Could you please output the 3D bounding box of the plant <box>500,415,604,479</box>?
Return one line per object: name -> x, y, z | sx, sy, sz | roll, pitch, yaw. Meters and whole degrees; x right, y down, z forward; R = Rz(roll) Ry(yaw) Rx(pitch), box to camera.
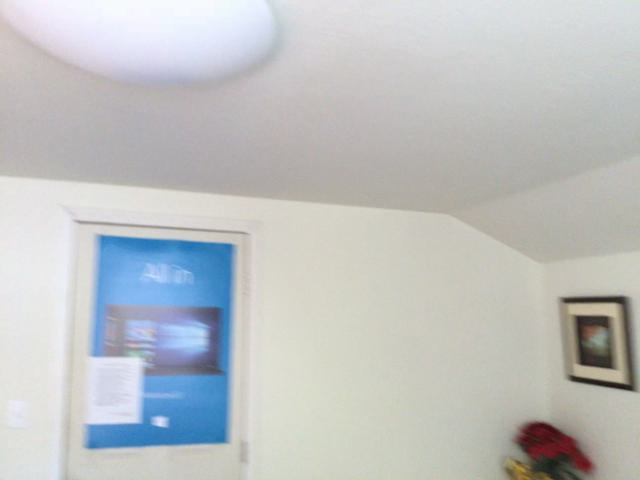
plant -> 1.110, 1.090, 2.790 | 0.330, 0.410, 0.330 | 6, -8, -17
